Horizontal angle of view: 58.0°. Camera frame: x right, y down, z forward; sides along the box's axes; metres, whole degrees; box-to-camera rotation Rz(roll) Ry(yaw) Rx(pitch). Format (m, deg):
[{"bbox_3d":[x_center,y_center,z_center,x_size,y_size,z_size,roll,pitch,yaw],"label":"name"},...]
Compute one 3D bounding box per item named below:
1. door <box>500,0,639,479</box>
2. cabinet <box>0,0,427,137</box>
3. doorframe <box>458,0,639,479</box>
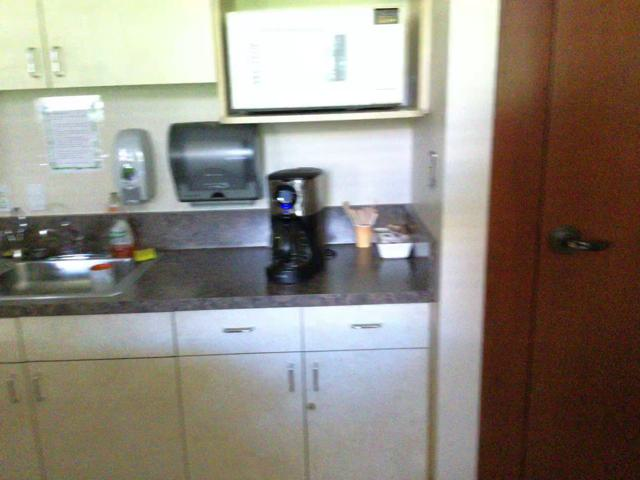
[{"bbox_3d":[0.940,0.160,1.630,0.760,1.620,0.110,-1,13,0],"label":"door"},{"bbox_3d":[-0.990,-0.760,1.890,2.600,0.810,0.440,-1,13,0],"label":"cabinet"},{"bbox_3d":[0.890,0.170,1.630,0.920,1.620,0.140,-1,13,0],"label":"doorframe"}]
